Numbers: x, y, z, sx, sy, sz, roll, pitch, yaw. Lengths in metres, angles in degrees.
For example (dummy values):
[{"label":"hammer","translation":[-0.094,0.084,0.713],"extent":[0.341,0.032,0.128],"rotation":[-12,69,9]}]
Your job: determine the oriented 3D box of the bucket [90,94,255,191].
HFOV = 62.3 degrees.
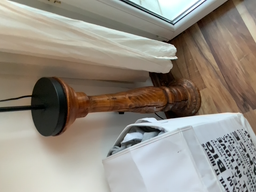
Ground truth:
[{"label":"bucket","translation":[0.290,0.280,0.850],"extent":[0.380,0.690,0.450],"rotation":[-30,72,38]}]
